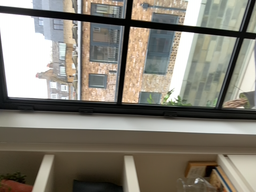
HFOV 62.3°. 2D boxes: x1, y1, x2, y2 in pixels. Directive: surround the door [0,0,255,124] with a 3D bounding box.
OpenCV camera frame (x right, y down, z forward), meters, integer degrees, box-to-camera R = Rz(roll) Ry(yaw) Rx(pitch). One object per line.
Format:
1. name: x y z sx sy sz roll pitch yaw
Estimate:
1. door: 0.410 -0.350 1.220 0.070 2.320 1.120 -106 21 -64
